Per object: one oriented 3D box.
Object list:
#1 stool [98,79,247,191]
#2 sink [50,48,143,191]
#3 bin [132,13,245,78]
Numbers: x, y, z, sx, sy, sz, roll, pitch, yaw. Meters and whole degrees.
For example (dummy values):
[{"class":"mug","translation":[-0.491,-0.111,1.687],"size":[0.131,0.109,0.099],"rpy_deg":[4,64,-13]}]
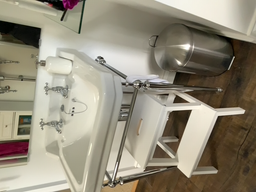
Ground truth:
[{"class":"stool","translation":[0.230,0.230,1.300],"size":[0.550,0.570,0.490],"rpy_deg":[33,115,51]},{"class":"sink","translation":[-0.210,0.130,1.060],"size":[0.490,0.170,0.620],"rpy_deg":[35,117,51]},{"class":"bin","translation":[0.340,-0.300,1.260],"size":[0.420,0.430,0.240],"rpy_deg":[36,117,51]}]
